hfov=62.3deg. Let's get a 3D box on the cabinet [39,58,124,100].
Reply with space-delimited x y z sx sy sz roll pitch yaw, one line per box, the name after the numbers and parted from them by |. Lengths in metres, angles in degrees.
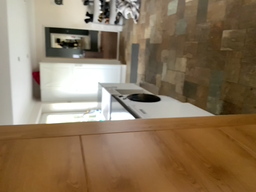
-1.230 -0.460 5.660 0.780 2.040 0.940 -139 51 -66 | cabinet
